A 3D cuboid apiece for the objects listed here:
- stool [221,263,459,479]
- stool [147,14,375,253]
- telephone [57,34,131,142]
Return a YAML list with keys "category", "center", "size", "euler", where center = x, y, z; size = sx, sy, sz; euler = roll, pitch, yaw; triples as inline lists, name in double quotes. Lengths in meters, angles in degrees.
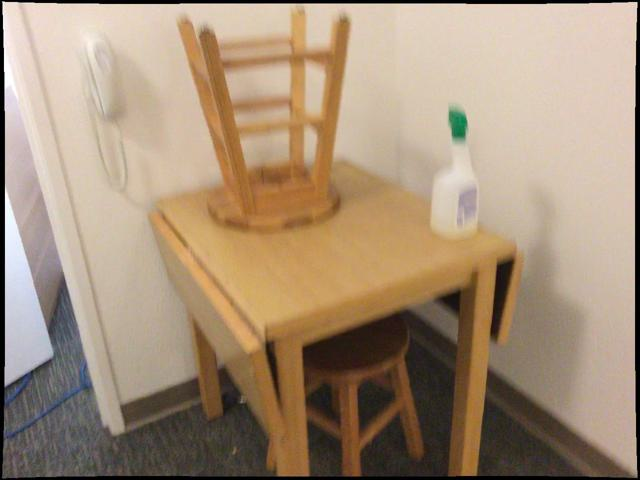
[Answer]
- category: "stool"
  center: [0.050, 0.441, 1.690]
  size: [0.449, 0.471, 0.520]
  euler: [-18, 30, -25]
- category: "stool"
  center: [-0.150, -0.311, 1.520]
  size: [0.409, 0.471, 0.420]
  euler: [-18, 30, -25]
- category: "telephone"
  center: [-0.578, -0.391, 1.480]
  size: [0.110, 0.240, 0.090]
  euler: [-18, 30, -25]
